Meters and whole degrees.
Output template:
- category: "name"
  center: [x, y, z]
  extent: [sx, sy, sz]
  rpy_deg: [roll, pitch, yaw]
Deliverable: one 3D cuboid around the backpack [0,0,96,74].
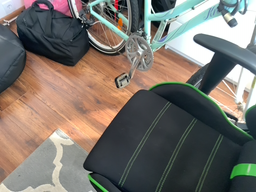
- category: "backpack"
  center: [-0.540, -0.450, 1.450]
  extent: [0.550, 0.230, 0.320]
  rpy_deg: [30, 60, 14]
